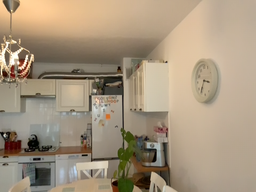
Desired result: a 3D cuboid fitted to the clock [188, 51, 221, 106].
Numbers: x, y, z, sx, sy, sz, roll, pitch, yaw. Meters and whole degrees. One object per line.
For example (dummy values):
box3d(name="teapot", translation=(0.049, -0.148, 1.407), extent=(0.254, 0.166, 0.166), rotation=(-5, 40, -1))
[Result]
box3d(name="clock", translation=(0.600, -0.120, 1.700), extent=(0.080, 0.390, 0.340), rotation=(1, -3, -12))

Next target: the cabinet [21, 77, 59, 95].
box3d(name="cabinet", translation=(-1.640, -0.180, 4.000), extent=(0.590, 0.300, 0.320), rotation=(0, -3, -7))
